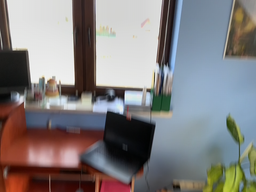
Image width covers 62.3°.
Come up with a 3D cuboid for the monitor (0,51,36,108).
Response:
[{"bbox_3d":[-0.910,-0.120,1.560,0.390,0.410,0.050,-8,22,-28],"label":"monitor"}]

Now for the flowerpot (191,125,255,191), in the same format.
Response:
[{"bbox_3d":[0.880,0.760,1.600,0.600,0.860,0.590,4,19,2],"label":"flowerpot"}]
